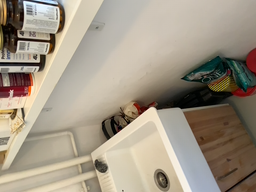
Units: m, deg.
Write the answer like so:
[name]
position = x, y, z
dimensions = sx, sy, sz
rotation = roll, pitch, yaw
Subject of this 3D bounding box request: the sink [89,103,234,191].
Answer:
[sink]
position = 0.090, 0.390, 1.130
dimensions = 0.740, 0.200, 0.410
rotation = -41, 62, 45
